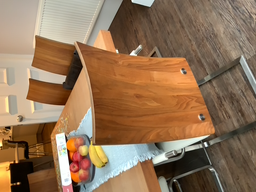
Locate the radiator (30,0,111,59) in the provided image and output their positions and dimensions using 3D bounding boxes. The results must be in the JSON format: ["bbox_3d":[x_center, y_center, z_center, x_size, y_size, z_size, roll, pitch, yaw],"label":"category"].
[{"bbox_3d":[-0.690,-0.800,2.390,0.970,0.660,0.160,-49,52,49],"label":"radiator"}]
